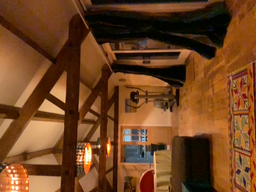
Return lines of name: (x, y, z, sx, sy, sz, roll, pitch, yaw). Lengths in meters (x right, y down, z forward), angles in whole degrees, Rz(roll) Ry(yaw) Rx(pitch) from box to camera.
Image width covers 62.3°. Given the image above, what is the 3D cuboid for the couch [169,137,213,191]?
couch: (1.090, 1.390, 3.880, 1.310, 0.470, 1.220, 67, -156, -80)
